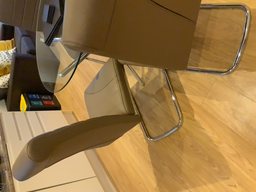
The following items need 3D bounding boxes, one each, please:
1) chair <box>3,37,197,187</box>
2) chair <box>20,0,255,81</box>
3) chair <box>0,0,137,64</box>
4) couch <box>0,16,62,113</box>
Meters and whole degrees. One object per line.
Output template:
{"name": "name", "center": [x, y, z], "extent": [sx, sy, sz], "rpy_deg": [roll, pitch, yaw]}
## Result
{"name": "chair", "center": [-0.150, 0.090, 1.300], "extent": [0.430, 0.990, 0.570], "rpy_deg": [-43, 57, 43]}
{"name": "chair", "center": [0.120, -0.380, 0.970], "extent": [0.570, 0.980, 0.460], "rpy_deg": [24, 108, 49]}
{"name": "chair", "center": [-0.530, -0.650, 1.810], "extent": [0.570, 0.980, 0.430], "rpy_deg": [49, 126, 40]}
{"name": "couch", "center": [-1.950, -0.610, 3.710], "extent": [1.660, 0.870, 1.020], "rpy_deg": [45, 124, 42]}
